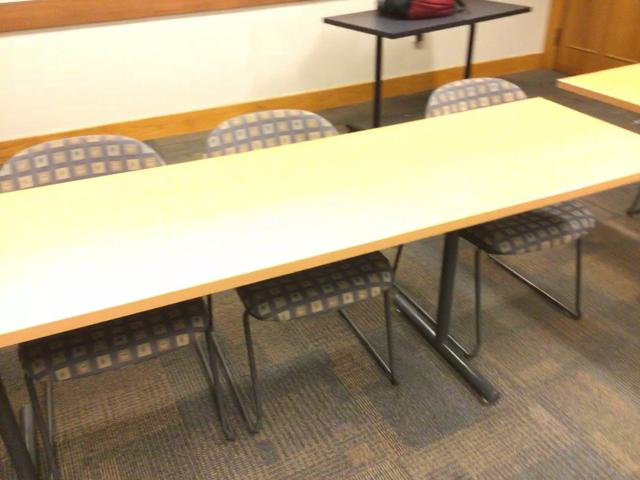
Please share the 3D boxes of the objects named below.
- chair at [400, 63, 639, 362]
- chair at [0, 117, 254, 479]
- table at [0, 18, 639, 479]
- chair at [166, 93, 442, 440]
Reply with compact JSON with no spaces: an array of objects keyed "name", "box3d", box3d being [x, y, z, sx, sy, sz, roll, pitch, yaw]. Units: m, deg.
[{"name":"chair","box3d":[0.640,-0.130,1.940,0.460,0.740,0.610,-15,32,-22]},{"name":"chair","box3d":[-0.540,0.170,1.480,0.480,0.750,0.630,-15,32,-22]},{"name":"table","box3d":[0.560,0.780,0.410,3.940,0.870,4.540,-15,32,-22]},{"name":"chair","box3d":[-0.060,0.030,1.680,0.520,0.710,0.590,-15,32,-22]}]
